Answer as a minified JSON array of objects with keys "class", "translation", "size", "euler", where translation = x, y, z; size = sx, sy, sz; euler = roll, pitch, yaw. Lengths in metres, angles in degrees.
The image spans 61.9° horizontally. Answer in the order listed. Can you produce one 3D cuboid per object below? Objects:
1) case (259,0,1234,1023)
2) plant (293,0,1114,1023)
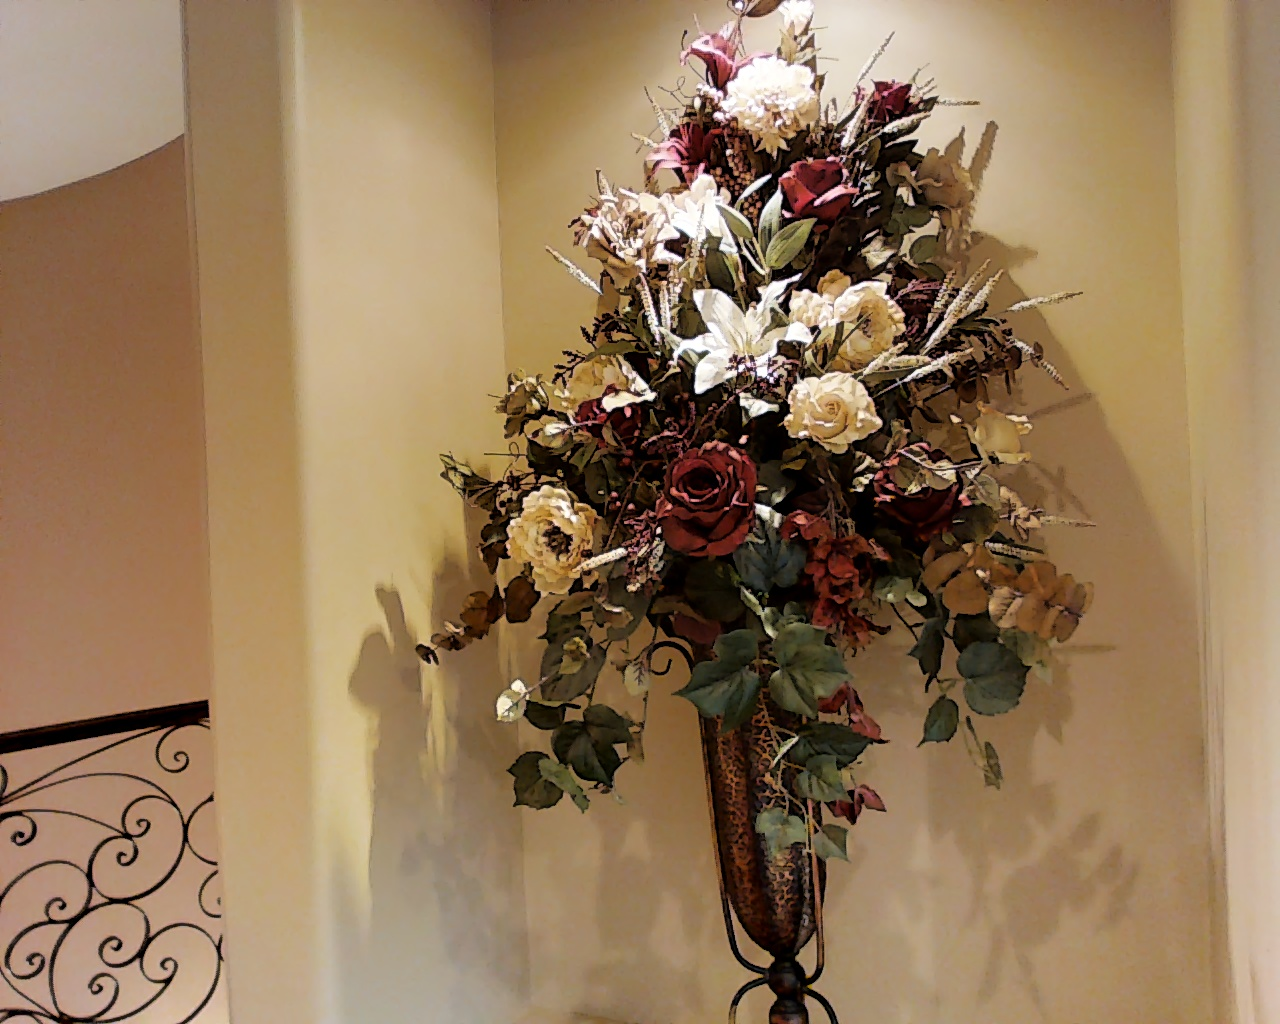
[{"class":"case","translation":[0.130,-0.010,1.240],"size":[0.910,1.660,0.540],"euler":[-2,1,24]},{"class":"plant","translation":[0.110,0.010,1.250],"size":[0.780,1.610,0.530],"euler":[-2,1,24]}]
